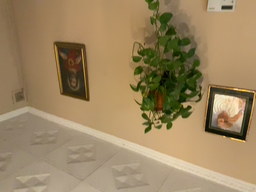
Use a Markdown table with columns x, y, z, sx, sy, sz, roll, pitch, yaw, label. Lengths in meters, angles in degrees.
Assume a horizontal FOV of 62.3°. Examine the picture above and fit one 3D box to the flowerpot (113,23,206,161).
| x | y | z | sx | sy | sz | roll | pitch | yaw | label |
| --- | --- | --- | --- | --- | --- | --- | --- | --- | --- |
| 0.200 | -0.070 | 1.480 | 0.470 | 0.820 | 0.380 | 12 | -157 | 28 | flowerpot |
